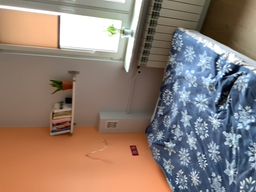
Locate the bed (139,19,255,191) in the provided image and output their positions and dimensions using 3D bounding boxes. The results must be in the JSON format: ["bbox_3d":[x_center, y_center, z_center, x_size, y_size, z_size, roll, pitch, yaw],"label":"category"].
[{"bbox_3d":[0.760,0.410,1.810,2.120,0.480,1.520,-113,30,-55],"label":"bed"}]

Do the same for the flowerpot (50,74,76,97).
[{"bbox_3d":[-0.750,-0.120,2.440,0.130,0.270,0.210,-113,30,-55],"label":"flowerpot"}]
